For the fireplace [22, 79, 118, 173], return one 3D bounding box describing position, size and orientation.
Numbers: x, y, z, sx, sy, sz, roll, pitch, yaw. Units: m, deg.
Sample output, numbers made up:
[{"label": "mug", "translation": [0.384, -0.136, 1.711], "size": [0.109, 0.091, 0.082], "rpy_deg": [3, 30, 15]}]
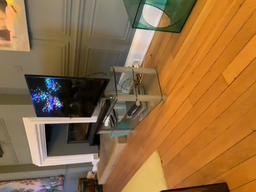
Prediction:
[{"label": "fireplace", "translation": [-1.270, 0.740, 4.600], "size": [2.130, 1.550, 0.930], "rpy_deg": [112, 152, -47]}]
